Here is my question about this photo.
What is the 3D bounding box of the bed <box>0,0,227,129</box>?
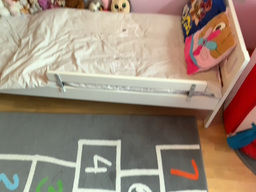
[{"bbox_3d":[-0.250,-0.280,1.620,1.700,0.390,0.800,5,55,4],"label":"bed"}]
